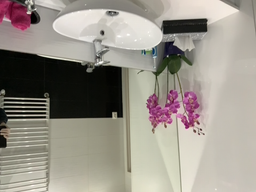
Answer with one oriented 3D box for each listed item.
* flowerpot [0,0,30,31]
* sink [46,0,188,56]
[{"bbox_3d":[-0.520,-0.410,0.920,0.160,0.180,0.140,3,172,-30],"label":"flowerpot"},{"bbox_3d":[-0.050,-0.380,1.110,0.640,0.150,0.370,3,172,-34],"label":"sink"}]
